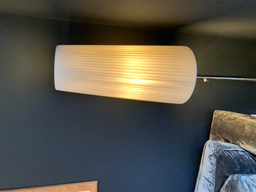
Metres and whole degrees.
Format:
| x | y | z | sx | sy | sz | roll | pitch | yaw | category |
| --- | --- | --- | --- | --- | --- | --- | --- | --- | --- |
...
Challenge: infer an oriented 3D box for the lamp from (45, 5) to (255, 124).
| x | y | z | sx | sy | sz | roll | pitch | yaw | category |
| --- | --- | --- | --- | --- | --- | --- | --- | --- | --- |
| 0.430 | -0.130 | 1.160 | 0.370 | 1.620 | 0.420 | -144 | 56 | -70 | lamp |
